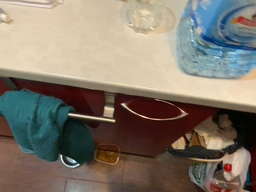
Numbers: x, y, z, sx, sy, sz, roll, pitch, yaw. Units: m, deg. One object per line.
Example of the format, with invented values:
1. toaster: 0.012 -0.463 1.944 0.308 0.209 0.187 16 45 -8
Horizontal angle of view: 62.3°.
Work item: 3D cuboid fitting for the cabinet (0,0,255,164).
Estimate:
1. cabinet: -0.310 -0.010 0.830 1.200 0.900 0.270 9 66 -2
